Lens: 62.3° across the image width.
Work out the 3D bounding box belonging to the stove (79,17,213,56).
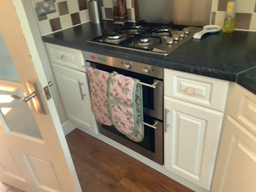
[{"bbox_3d":[0.120,-0.400,1.310,0.610,0.020,0.570,18,39,33],"label":"stove"}]

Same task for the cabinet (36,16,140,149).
[{"bbox_3d":[-0.270,-0.140,1.830,0.440,0.910,0.590,18,39,33],"label":"cabinet"}]
